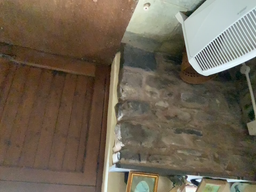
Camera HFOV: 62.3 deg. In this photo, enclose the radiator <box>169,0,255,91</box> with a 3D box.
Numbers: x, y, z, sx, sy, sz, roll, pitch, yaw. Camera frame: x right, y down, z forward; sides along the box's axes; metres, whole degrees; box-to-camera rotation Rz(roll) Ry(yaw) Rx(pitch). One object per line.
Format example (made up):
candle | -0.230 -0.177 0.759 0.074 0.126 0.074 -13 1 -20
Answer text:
radiator | 0.520 -0.390 1.100 0.130 0.450 0.750 16 151 -25
